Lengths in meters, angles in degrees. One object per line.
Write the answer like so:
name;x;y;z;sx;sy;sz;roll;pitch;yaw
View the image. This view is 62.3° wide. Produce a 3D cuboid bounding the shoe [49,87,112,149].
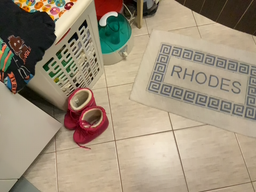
shoe;-0.220;0.110;1.040;0.190;0.150;0.200;35;74;13
